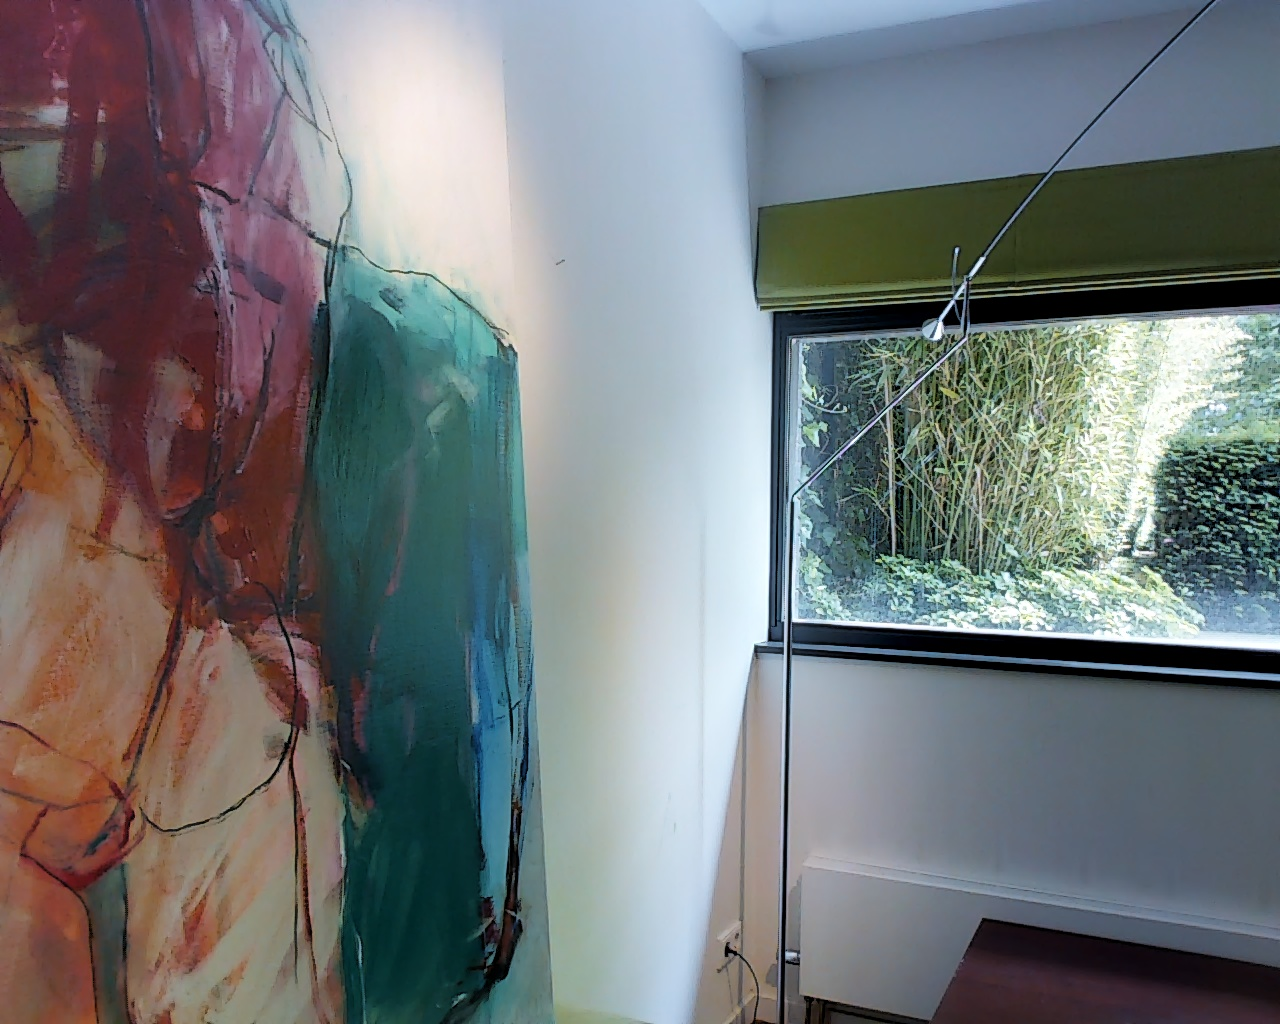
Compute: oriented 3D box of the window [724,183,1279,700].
[{"bbox_3d":[1.600,-0.160,2.590,2.850,1.190,0.320,0,-1,26],"label":"window"}]
